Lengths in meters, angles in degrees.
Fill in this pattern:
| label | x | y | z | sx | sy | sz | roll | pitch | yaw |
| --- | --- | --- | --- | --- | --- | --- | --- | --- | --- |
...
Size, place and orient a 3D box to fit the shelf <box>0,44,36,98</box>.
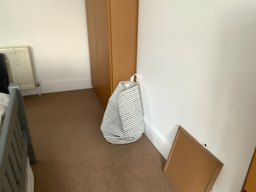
| label | x | y | z | sx | sy | sz | roll | pitch | yaw |
| --- | --- | --- | --- | --- | --- | --- | --- | --- | --- |
| shelf | -1.660 | -0.270 | 2.480 | 0.990 | 0.610 | 0.140 | -8 | 26 | -20 |
